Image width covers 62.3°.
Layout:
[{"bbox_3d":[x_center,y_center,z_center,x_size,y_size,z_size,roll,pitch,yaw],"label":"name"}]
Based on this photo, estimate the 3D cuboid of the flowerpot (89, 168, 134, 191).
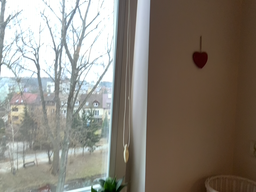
[{"bbox_3d":[-0.080,0.480,0.990,0.170,0.210,0.120,-2,5,-36],"label":"flowerpot"}]
